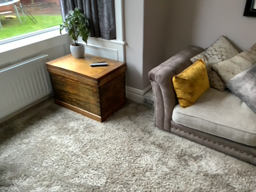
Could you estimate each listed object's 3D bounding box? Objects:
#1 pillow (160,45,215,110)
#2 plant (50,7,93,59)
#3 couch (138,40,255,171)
[{"bbox_3d":[0.650,-0.160,2.210,0.270,0.440,0.670,19,-4,32],"label":"pillow"},{"bbox_3d":[-0.710,-0.810,2.710,0.330,0.550,0.310,19,37,30],"label":"plant"},{"bbox_3d":[1.330,0.090,2.090,2.200,0.690,1.090,18,36,28],"label":"couch"}]
